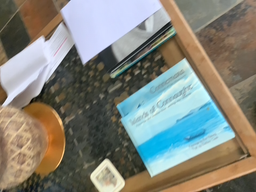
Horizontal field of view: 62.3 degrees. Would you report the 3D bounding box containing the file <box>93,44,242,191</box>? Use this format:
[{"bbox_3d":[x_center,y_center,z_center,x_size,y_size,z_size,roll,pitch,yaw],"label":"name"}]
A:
[{"bbox_3d":[0.100,0.070,0.630,0.310,0.100,0.300,-33,77,23],"label":"file"}]
